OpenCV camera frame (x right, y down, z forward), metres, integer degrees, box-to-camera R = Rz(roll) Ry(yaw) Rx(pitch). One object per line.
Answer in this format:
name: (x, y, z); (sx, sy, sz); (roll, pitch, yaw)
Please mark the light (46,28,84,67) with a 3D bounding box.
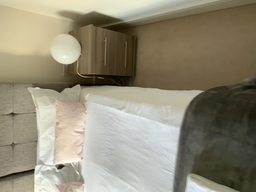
light: (-0.530, -0.390, 1.770); (0.260, 0.200, 0.280); (10, 98, 48)
